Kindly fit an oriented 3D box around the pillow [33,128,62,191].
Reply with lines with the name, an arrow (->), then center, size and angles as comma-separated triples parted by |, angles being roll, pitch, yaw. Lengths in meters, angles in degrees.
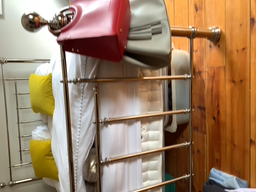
pillow -> -0.920, 0.690, 2.400 | 0.600, 0.220, 0.530 | 8, 100, 63
